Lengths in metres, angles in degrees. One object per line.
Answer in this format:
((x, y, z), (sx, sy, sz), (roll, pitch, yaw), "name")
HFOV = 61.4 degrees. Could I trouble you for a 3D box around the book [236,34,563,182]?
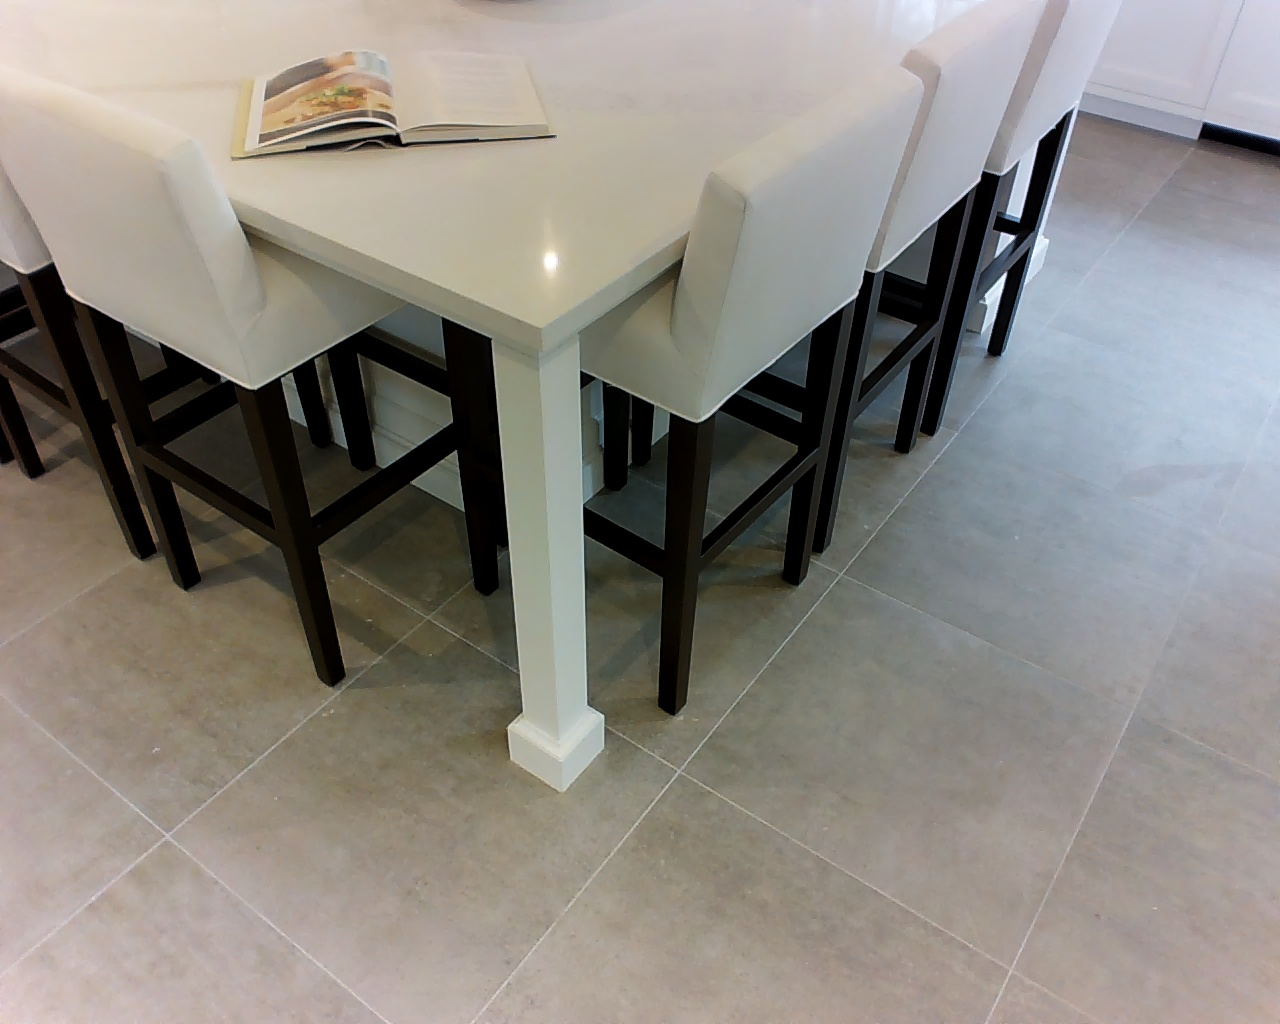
((-0.390, -0.650, 1.700), (0.460, 0.050, 0.400), (-9, 42, -12), "book")
